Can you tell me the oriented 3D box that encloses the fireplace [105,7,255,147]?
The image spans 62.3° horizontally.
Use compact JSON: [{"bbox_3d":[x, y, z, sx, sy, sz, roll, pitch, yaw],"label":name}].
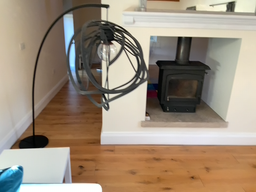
[{"bbox_3d":[0.740,-0.270,2.920,2.070,1.630,0.930,1,20,-4],"label":"fireplace"}]
